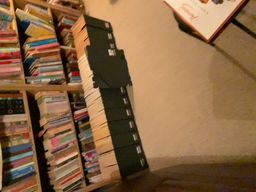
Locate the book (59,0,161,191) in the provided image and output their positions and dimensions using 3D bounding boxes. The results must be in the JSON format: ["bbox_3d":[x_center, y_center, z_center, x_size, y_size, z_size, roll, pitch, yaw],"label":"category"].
[{"bbox_3d":[-0.190,-0.060,1.740,0.370,0.320,1.540,-26,74,40],"label":"book"}]

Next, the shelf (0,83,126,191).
[{"bbox_3d":[-0.590,0.350,1.650,0.340,1.020,0.810,-28,73,40],"label":"shelf"}]
